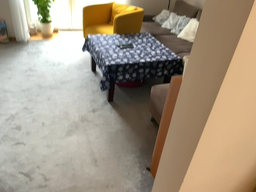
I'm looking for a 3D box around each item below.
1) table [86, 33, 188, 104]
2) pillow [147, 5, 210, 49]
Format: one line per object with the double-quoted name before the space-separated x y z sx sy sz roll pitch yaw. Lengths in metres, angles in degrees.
"table" 0.040 -0.430 2.810 1.030 0.500 0.920 -6 37 -19
"pillow" 0.770 -1.190 3.540 0.310 0.320 1.260 -10 38 -23
